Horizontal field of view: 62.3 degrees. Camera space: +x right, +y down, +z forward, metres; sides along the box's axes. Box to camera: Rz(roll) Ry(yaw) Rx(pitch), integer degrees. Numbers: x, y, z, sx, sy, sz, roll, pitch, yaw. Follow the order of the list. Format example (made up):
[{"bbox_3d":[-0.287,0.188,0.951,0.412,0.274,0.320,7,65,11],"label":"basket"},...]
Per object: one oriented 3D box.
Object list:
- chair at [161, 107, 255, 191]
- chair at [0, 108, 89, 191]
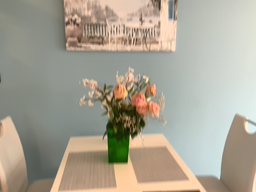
[{"bbox_3d":[0.610,0.630,1.620,0.580,1.000,0.470,-1,12,-6],"label":"chair"},{"bbox_3d":[-0.600,0.650,1.560,0.580,1.030,0.470,-1,12,-6],"label":"chair"}]
